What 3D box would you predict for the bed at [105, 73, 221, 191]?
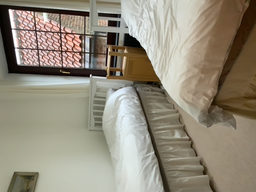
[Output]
[{"bbox_3d":[0.160,0.660,2.570,2.010,0.710,1.030,-104,20,-57],"label":"bed"}]
